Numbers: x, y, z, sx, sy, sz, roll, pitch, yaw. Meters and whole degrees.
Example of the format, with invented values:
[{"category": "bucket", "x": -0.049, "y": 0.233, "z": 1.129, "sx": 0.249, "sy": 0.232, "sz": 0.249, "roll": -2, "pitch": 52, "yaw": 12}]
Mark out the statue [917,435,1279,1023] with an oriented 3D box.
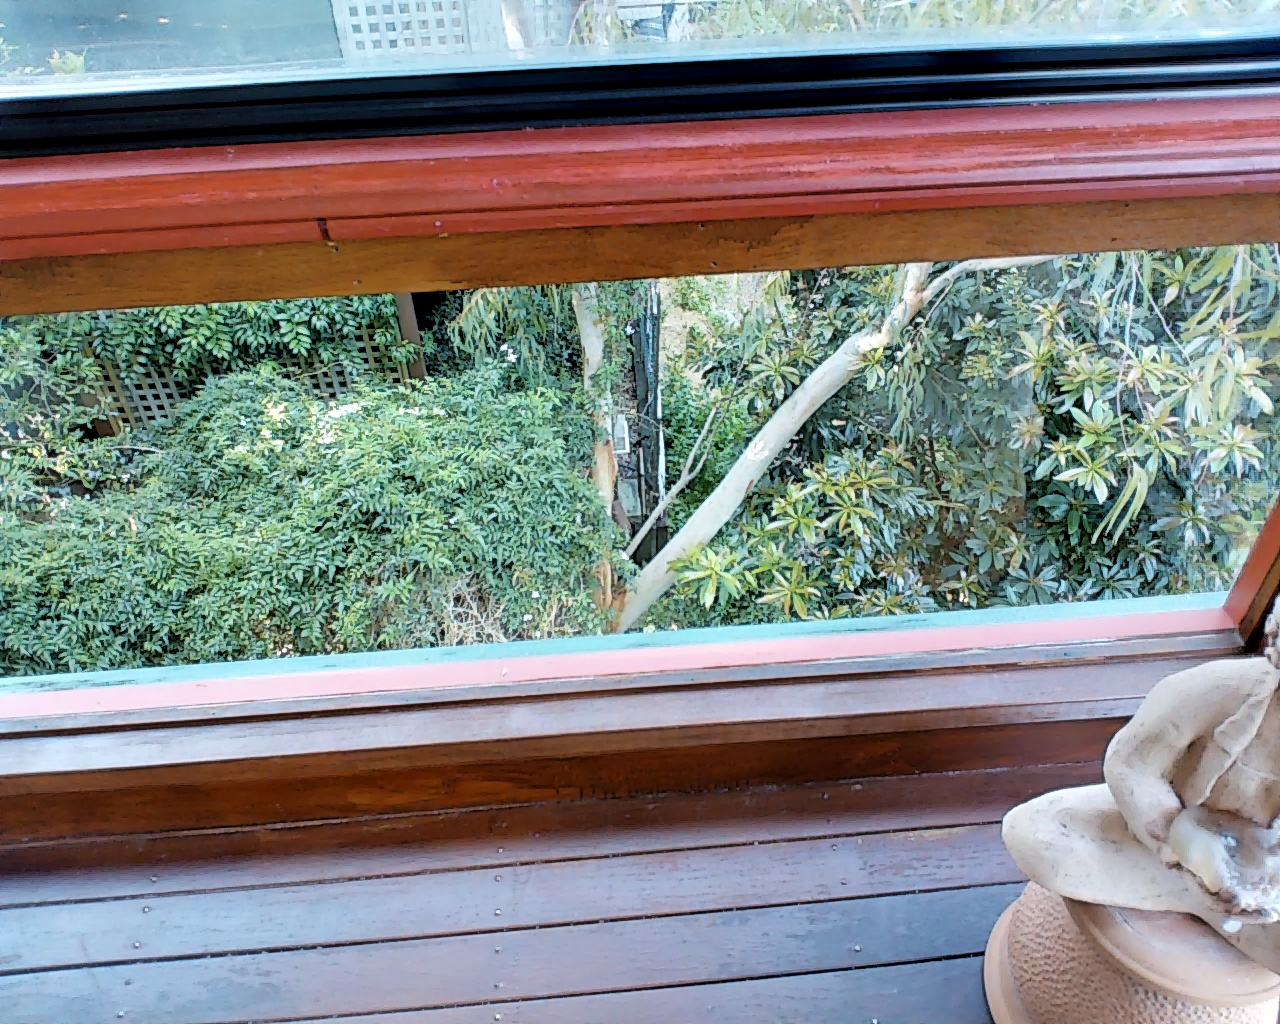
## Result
[{"category": "statue", "x": 0.540, "y": 0.340, "z": 0.990, "sx": 0.370, "sy": 0.710, "sz": 0.250, "roll": 29, "pitch": 51, "yaw": 28}]
